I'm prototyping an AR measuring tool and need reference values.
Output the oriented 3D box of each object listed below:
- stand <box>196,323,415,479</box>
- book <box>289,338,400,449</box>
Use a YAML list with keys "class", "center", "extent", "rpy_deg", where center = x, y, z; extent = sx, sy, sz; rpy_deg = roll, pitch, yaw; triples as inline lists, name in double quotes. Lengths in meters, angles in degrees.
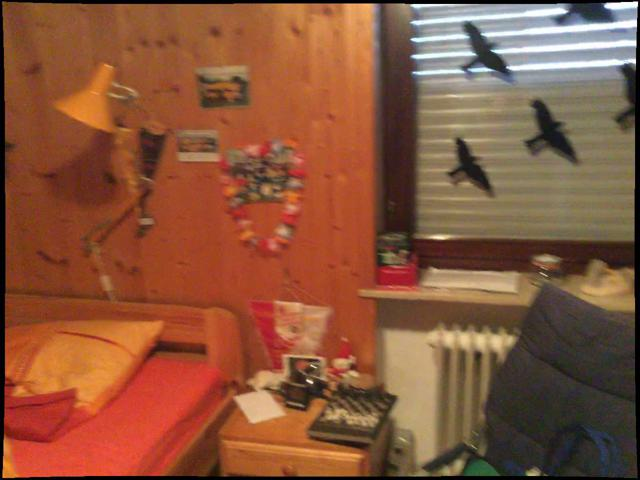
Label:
- class: "stand"
  center: [0.000, 0.681, 1.930]
  extent: [0.549, 0.581, 0.570]
  rpy_deg: [2, 16, 17]
- class: "book"
  center: [0.090, 0.450, 1.770]
  extent: [0.250, 0.130, 0.380]
  rpy_deg: [2, 16, 17]
